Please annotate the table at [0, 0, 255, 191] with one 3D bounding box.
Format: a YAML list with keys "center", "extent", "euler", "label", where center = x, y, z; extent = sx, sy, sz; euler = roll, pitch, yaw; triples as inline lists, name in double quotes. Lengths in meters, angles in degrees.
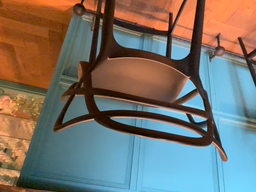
- center: [0.430, 0.190, 1.420]
  extent: [2.140, 1.110, 0.620]
  euler: [13, 151, -12]
  label: "table"
